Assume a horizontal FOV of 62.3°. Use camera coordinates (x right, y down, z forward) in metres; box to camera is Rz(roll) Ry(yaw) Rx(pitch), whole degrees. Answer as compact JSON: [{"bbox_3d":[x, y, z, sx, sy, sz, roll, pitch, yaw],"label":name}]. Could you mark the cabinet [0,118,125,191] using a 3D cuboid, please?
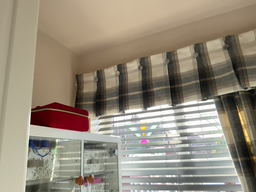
[{"bbox_3d":[-0.370,0.390,1.020,0.400,0.420,0.790,-10,-17,22],"label":"cabinet"}]
